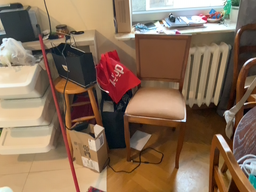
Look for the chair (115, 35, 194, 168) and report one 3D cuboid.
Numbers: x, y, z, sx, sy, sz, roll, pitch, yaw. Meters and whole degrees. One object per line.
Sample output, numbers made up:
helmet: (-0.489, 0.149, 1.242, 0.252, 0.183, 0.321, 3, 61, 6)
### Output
chair: (0.200, 0.030, 1.630, 0.440, 0.830, 0.550, 3, 33, 9)
